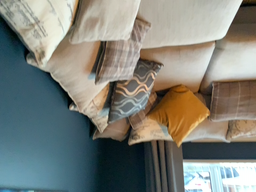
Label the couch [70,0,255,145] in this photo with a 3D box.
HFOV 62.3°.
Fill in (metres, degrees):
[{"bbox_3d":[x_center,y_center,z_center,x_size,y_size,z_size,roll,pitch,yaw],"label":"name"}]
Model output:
[{"bbox_3d":[1.150,-0.110,1.920,2.950,0.880,1.090,-1,155,5],"label":"couch"}]
